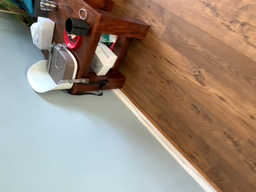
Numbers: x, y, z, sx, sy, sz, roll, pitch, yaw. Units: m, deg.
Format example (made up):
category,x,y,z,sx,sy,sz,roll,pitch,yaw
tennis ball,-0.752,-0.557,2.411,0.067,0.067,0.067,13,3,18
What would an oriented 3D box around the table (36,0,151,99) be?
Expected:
category,x,y,z,sx,sy,sz,roll,pitch,yaw
table,-0.320,-0.450,1.730,0.650,0.510,0.630,46,125,31
